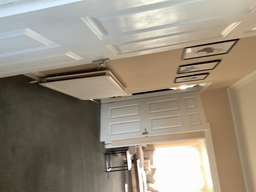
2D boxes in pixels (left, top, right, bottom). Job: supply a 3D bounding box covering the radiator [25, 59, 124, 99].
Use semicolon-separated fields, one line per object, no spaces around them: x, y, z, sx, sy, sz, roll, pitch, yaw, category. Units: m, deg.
-0.510;-0.140;2.560;1.260;0.740;0.120;44;39;-79;radiator
